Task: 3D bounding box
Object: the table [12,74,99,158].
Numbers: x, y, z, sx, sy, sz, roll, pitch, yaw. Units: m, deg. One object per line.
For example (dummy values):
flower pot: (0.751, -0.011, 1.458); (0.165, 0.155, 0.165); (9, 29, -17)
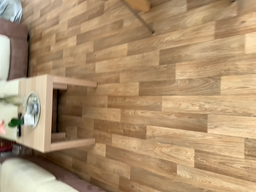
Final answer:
table: (-0.640, 0.140, 1.850); (0.600, 0.460, 0.590); (2, 89, 44)
